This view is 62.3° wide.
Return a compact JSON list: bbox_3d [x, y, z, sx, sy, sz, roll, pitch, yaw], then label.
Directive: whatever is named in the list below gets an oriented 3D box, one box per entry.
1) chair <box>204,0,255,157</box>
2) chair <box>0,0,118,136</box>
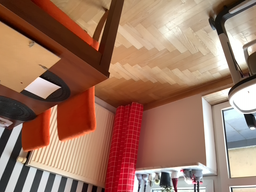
[{"bbox_3d":[0.950,-0.180,1.310,0.600,0.920,0.630,30,142,-32],"label":"chair"},{"bbox_3d":[-0.440,-0.290,1.400,0.490,0.920,0.390,27,144,-29],"label":"chair"}]
